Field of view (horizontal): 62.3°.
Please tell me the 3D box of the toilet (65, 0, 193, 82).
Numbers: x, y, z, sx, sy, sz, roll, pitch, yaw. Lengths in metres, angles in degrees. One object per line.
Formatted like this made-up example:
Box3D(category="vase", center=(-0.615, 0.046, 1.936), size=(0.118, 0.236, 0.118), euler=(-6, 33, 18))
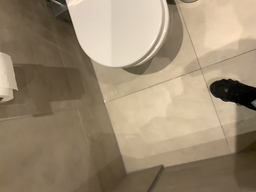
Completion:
Box3D(category="toilet", center=(0.020, -0.380, 1.010), size=(0.390, 0.450, 0.520), euler=(-19, 86, 20))
